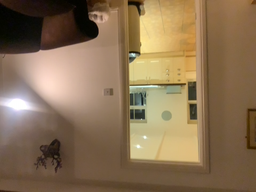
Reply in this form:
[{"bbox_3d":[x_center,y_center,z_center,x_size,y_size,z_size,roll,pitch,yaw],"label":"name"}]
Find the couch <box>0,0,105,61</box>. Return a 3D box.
[{"bbox_3d":[-1.100,-0.810,1.750,0.940,0.750,1.600,0,180,38],"label":"couch"}]
